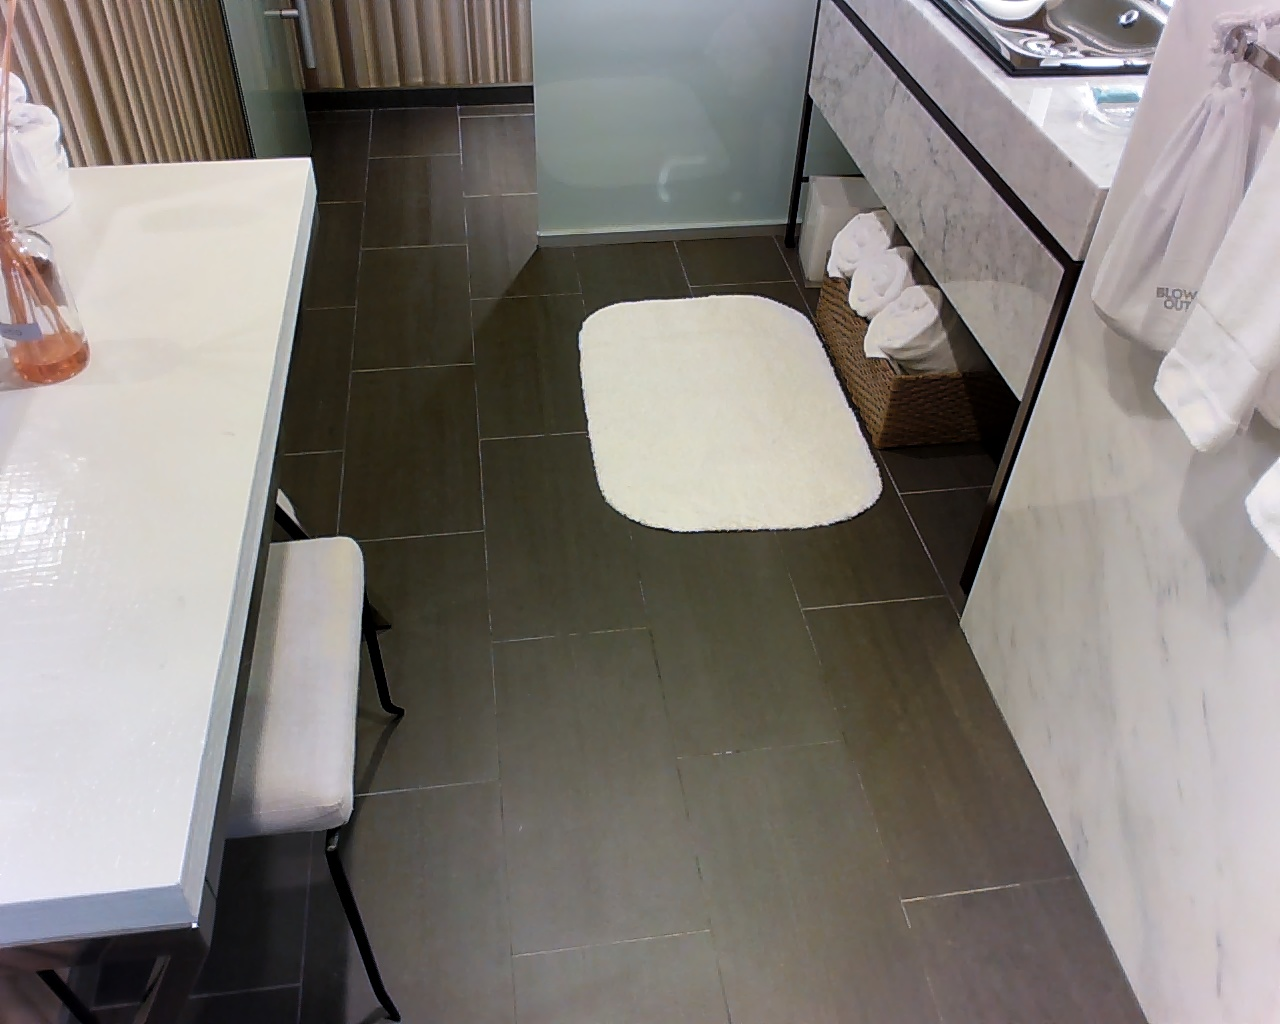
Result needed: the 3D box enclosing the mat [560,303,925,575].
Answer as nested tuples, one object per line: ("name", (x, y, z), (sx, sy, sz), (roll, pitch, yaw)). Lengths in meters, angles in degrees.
("mat", (0.190, -0.220, 2.550), (0.680, 0.030, 0.940), (-4, 42, -7))
